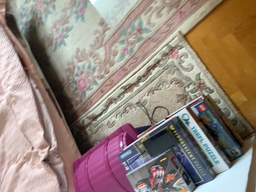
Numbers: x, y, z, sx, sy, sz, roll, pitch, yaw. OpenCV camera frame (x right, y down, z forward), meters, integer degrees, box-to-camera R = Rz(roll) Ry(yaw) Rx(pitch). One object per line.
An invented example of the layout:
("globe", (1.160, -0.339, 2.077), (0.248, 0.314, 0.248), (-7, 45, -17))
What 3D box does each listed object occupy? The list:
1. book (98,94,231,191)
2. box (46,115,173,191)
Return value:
("book", (0.210, 0.230, 1.050), (0.400, 0.520, 0.290), (-38, 74, 28))
("box", (-0.100, 0.430, 1.290), (0.480, 0.460, 0.390), (-37, 74, 28))
